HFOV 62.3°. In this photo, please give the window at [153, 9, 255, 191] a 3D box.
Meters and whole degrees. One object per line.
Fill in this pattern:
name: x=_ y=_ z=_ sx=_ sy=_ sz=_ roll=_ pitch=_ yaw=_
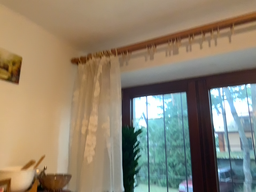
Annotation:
window: x=0.910 y=0.290 z=1.310 sx=1.540 sy=1.700 sz=0.350 roll=-8 pitch=-18 yaw=37
